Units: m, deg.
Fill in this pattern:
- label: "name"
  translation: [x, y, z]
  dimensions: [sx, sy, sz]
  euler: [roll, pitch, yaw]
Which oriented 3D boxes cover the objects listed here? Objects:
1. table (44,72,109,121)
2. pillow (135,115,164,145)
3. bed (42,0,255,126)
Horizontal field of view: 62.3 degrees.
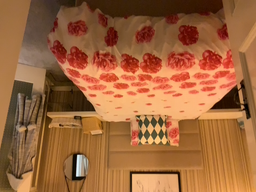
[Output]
- label: "table"
  translation: [-0.770, 0.030, 3.350]
  dimensions: [0.860, 0.630, 0.470]
  euler: [-2, 160, 4]
- label: "pillow"
  translation: [0.280, 0.450, 2.790]
  dimensions: [0.360, 0.360, 0.210]
  euler: [-2, 160, 6]
- label: "bed"
  translation: [0.250, -0.230, 2.480]
  dimensions: [1.490, 0.720, 2.100]
  euler: [-2, 160, 4]
